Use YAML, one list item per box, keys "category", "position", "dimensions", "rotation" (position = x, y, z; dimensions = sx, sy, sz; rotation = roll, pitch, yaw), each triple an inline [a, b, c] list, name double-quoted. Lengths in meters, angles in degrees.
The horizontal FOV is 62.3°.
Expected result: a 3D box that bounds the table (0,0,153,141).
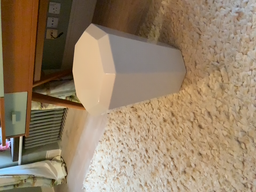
- category: "table"
  position: [-0.410, -0.530, 1.220]
  dimensions: [0.720, 0.720, 1.390]
  rotation: [54, 137, 35]
